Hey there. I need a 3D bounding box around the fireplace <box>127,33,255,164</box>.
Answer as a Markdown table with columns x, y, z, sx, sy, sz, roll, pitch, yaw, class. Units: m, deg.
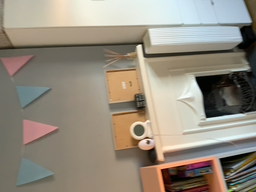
| x | y | z | sx | sy | sz | roll | pitch | yaw | class |
| --- | --- | --- | --- | --- | --- | --- | --- | --- | --- |
| 0.600 | -0.020 | 1.730 | 0.260 | 1.040 | 0.930 | 121 | 141 | -68 | fireplace |
